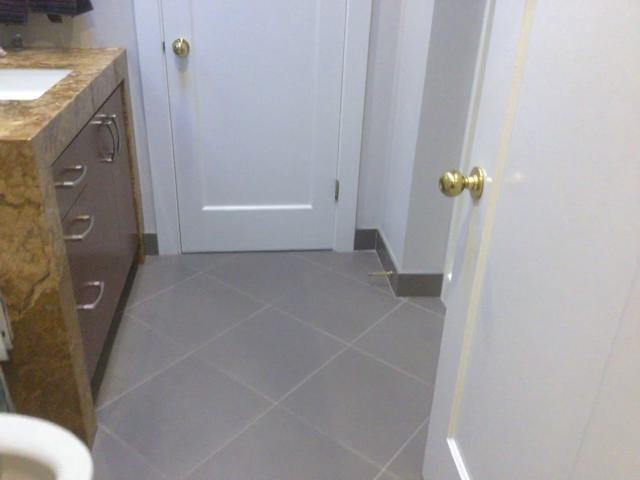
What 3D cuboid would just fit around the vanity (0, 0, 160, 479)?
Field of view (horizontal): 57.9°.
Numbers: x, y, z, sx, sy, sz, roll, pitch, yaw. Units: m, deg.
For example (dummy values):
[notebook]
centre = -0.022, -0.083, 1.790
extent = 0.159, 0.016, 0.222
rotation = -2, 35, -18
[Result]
[vanity]
centre = -0.910, -0.110, 1.740
extent = 0.660, 1.060, 1.200
rotation = -2, 27, -10
